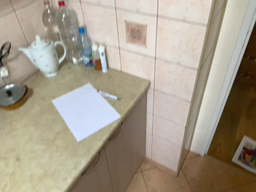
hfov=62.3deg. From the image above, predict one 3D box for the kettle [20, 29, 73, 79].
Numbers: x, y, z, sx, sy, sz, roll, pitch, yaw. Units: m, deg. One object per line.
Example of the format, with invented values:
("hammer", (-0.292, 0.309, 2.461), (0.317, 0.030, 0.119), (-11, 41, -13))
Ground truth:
("kettle", (-0.430, -0.230, 1.150), (0.130, 0.170, 0.190), (19, 48, 21))
